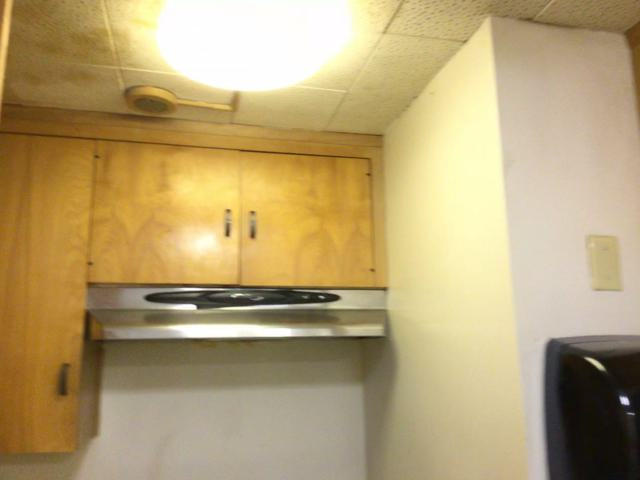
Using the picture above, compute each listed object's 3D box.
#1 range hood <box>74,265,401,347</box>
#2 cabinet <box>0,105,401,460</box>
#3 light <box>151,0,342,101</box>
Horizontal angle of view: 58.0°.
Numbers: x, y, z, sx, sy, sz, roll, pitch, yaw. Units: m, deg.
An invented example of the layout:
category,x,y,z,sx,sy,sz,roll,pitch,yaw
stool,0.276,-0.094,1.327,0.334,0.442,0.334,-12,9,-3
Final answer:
category,x,y,z,sx,sy,sz,roll,pitch,yaw
range hood,-0.220,0.190,1.680,0.890,0.210,0.150,1,-12,-12
cabinet,-0.440,0.130,1.840,1.280,0.970,0.360,1,-12,-12
light,-0.170,-0.430,1.270,0.360,0.080,0.350,1,-12,-12
